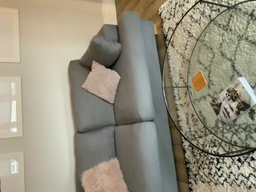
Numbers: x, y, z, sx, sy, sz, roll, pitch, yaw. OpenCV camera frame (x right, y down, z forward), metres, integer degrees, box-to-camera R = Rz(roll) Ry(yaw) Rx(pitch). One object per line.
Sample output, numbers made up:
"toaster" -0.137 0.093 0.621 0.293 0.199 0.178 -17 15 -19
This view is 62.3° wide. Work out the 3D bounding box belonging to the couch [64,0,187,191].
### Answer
"couch" -0.130 0.360 2.430 1.120 0.820 2.360 -25 70 61
